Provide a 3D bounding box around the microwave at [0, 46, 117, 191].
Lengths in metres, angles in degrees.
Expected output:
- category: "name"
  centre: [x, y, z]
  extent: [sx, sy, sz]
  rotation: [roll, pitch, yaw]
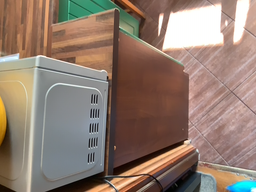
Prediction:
- category: "microwave"
  centre: [-0.250, 0.060, 0.600]
  extent: [0.320, 0.270, 0.320]
  rotation: [4, 90, 32]
